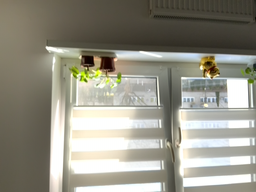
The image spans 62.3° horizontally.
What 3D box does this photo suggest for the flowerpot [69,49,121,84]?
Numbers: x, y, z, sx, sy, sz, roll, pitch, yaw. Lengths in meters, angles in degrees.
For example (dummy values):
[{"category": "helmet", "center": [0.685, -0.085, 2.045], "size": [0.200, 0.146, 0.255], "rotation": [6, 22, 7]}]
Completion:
[{"category": "flowerpot", "center": [-0.200, -0.180, 1.320], "size": [0.310, 0.190, 0.080], "rotation": [1, 176, -6]}]
